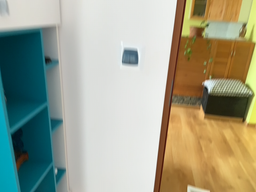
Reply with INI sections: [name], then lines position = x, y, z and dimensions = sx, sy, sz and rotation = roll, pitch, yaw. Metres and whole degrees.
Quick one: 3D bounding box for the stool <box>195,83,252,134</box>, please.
[stool]
position = 1.580, 0.200, 3.610
dimensions = 0.670, 0.690, 0.430
rotation = 6, 21, 5
